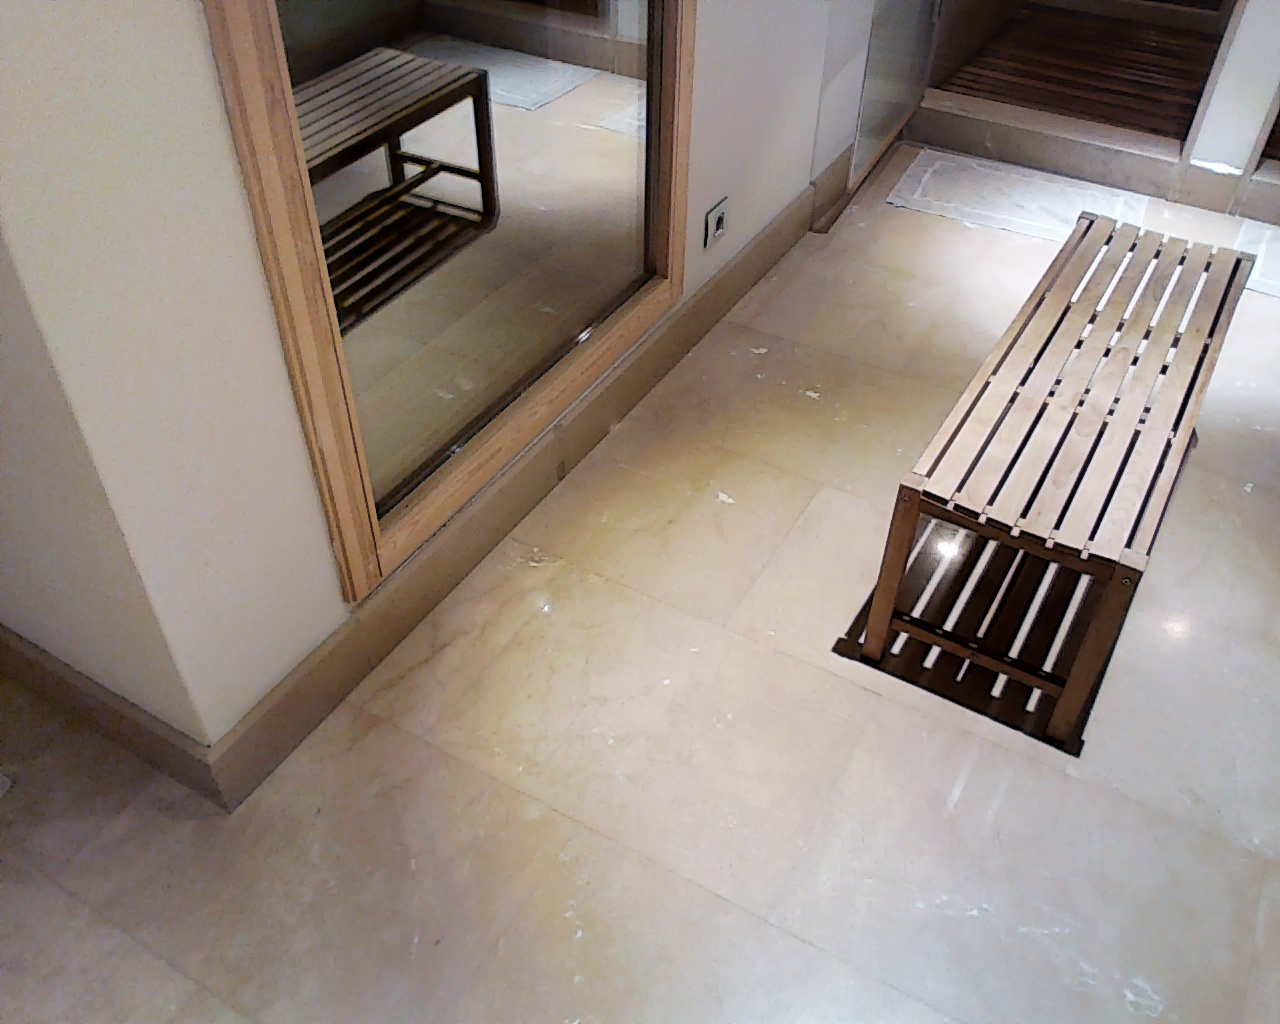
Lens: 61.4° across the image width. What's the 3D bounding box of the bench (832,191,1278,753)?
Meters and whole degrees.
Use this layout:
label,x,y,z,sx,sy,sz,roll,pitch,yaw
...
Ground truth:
label,x,y,z,sx,sy,sz,roll,pitch,yaw
bench,0.910,-0.170,2.280,0.480,0.470,1.230,23,46,22
